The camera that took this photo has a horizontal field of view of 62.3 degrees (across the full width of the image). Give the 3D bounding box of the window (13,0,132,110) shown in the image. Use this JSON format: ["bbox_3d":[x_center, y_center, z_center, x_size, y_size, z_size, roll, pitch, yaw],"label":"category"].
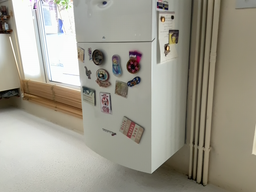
[{"bbox_3d":[-0.540,-0.600,1.850,1.180,1.170,0.370,13,-158,42],"label":"window"}]
